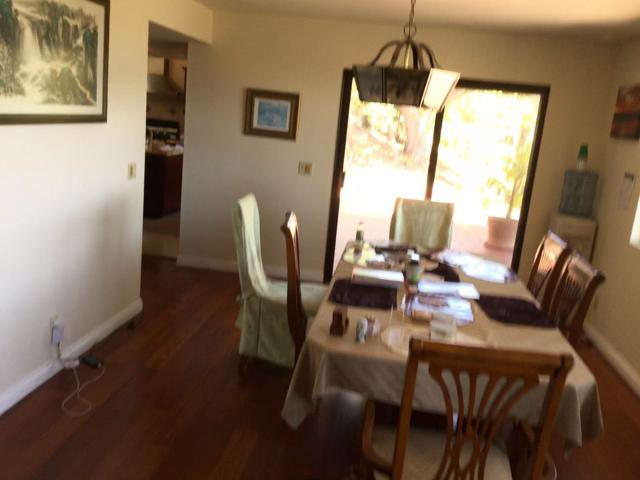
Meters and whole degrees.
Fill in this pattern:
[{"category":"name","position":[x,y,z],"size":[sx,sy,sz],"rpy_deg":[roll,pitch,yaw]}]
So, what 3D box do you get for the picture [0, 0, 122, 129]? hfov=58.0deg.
[{"category":"picture","position":[-1.290,-0.940,2.840],"size":[0.080,0.760,1.160],"rpy_deg":[6,12,7]}]
